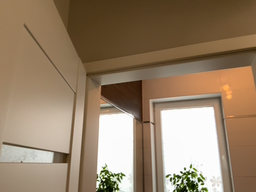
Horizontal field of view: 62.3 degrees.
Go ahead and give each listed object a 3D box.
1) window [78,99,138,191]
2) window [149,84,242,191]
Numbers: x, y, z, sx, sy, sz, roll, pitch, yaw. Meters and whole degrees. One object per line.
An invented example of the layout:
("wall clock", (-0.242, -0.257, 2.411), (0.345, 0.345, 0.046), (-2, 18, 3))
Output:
("window", (-0.260, 0.790, 2.860), (0.770, 1.460, 0.140), (-5, -18, 16))
("window", (0.730, 0.760, 2.430), (0.930, 1.720, 0.210), (-6, -19, 21))
